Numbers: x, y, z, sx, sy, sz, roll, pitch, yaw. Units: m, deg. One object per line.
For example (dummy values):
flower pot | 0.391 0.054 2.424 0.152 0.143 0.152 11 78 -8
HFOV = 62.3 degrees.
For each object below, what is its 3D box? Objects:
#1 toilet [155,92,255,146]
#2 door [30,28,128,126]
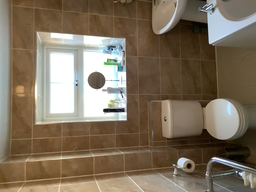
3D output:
toilet | 0.760 0.200 2.000 0.740 0.760 0.390 162 107 -73
door | -0.530 -0.180 2.380 0.360 0.980 0.960 164 105 -73
